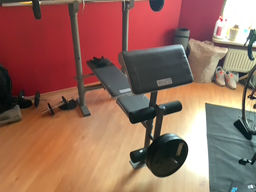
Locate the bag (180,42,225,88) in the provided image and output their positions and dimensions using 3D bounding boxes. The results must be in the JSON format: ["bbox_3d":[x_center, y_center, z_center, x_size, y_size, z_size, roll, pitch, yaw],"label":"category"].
[{"bbox_3d":[1.010,-0.440,2.930,0.480,0.440,0.380,11,34,13],"label":"bag"}]
